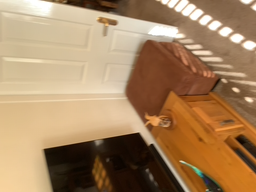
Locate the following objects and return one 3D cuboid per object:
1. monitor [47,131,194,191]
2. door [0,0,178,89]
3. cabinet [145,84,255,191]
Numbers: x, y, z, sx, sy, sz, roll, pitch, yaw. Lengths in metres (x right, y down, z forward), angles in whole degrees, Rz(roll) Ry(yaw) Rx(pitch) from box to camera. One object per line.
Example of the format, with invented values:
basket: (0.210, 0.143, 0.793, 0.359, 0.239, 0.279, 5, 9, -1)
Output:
monitor: (0.110, 0.700, 1.110, 1.240, 0.790, 0.080, 54, 134, 42)
door: (-0.430, -0.420, 1.800, 0.130, 1.910, 0.730, 46, 129, 47)
cabinet: (0.730, 0.520, 1.380, 1.350, 0.480, 0.530, 54, 134, 42)
